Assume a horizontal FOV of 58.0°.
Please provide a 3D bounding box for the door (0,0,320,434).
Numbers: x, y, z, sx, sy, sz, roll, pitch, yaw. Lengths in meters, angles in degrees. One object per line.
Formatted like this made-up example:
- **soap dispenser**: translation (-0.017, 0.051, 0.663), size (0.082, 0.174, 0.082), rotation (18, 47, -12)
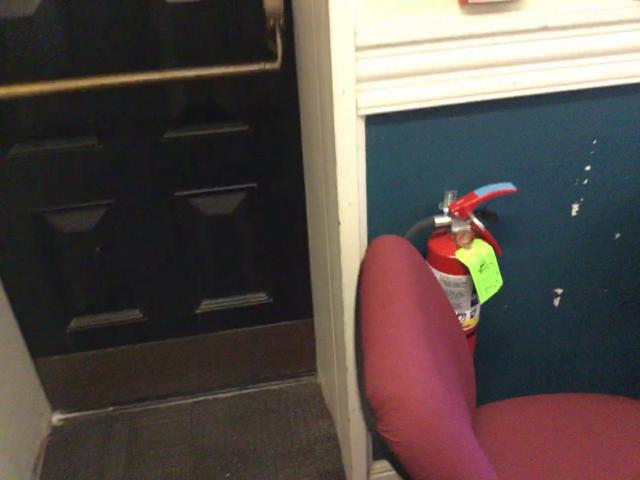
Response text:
- **door**: translation (-0.410, -0.260, 1.340), size (0.740, 1.690, 0.150), rotation (-6, 29, -6)
